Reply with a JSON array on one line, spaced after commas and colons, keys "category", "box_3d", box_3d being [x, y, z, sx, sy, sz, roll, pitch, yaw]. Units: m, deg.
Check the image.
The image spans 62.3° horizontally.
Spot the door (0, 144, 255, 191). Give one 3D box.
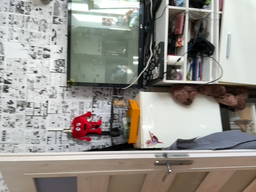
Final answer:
[{"category": "door", "box_3d": [0.270, 0.620, 1.520, 0.860, 2.060, 0.080, 103, 164, -44]}]

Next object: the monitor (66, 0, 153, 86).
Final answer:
[{"category": "monitor", "box_3d": [-0.130, -0.590, 1.670, 0.060, 0.660, 1.000, 174, 98, -78]}]
